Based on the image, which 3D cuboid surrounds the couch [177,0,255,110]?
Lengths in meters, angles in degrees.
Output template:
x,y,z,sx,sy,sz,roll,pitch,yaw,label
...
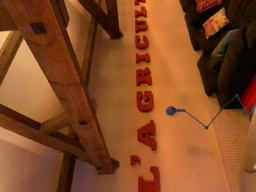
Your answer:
x,y,z,sx,sy,sz,roll,pitch,yaw,label
1.410,-1.620,3.420,1.290,0.790,3.530,84,-175,-52,couch
